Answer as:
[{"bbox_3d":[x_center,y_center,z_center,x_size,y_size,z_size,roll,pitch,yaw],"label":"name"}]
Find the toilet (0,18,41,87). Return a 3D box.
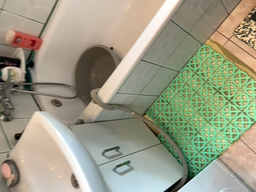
[{"bbox_3d":[-0.700,-0.240,1.240,0.140,0.210,0.350,43,111,28],"label":"toilet"}]

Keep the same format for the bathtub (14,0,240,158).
[{"bbox_3d":[0.050,-0.500,1.180,0.690,0.500,1.630,49,114,26],"label":"bathtub"}]
